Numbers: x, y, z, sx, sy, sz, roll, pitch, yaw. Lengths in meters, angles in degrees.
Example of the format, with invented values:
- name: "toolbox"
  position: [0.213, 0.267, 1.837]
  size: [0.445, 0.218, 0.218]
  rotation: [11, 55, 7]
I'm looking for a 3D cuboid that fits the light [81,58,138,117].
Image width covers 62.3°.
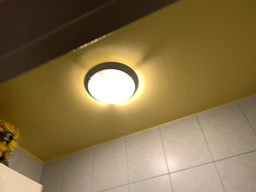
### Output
- name: "light"
  position: [-0.080, -0.030, 0.980]
  size: [0.230, 0.270, 0.090]
  rotation: [4, -135, 0]
